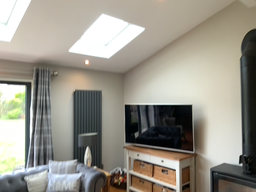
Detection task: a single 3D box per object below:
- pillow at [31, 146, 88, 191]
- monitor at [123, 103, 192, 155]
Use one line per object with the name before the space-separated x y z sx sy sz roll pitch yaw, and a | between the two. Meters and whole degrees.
pillow | -0.900 1.060 2.810 0.470 0.530 0.350 -34 13 -15
monitor | 0.460 0.520 3.670 1.270 0.780 0.120 -1 -2 35
